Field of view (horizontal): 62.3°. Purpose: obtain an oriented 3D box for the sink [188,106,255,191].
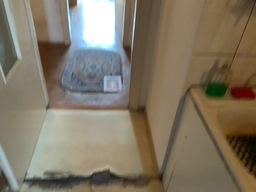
[{"bbox_3d":[0.520,0.280,0.870,0.380,0.230,0.460,2,37,-5],"label":"sink"}]
